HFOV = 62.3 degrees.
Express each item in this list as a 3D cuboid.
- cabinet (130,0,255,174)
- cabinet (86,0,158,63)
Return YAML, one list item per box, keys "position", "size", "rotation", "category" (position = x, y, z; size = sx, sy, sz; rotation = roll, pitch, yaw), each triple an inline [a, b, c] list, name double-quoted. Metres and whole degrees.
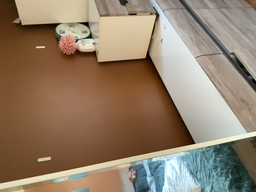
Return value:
- position: [0.650, -0.340, 1.600]
  size: [0.510, 0.830, 1.520]
  rotation: [103, 154, -51]
  category: "cabinet"
- position: [-0.090, -0.630, 1.750]
  size: [0.440, 0.430, 0.510]
  rotation: [103, 154, -51]
  category: "cabinet"
